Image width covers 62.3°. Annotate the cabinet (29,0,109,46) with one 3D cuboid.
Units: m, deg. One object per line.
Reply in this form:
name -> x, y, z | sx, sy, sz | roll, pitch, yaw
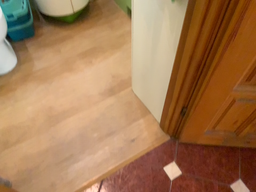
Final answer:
cabinet -> -0.460, -0.800, 1.460 | 0.470, 0.670, 0.390 | -27, 60, -16
